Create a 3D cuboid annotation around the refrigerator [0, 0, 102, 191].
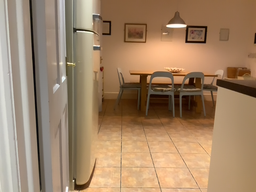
[{"bbox_3d":[-0.590,-0.130,1.720,0.700,1.660,0.630,2,11,-4],"label":"refrigerator"}]
